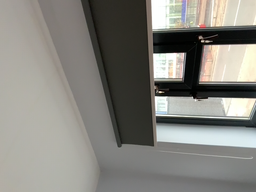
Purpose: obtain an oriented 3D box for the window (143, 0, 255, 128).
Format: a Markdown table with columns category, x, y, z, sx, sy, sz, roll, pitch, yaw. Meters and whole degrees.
| category | x | y | z | sx | sy | sz | roll | pitch | yaw |
| --- | --- | --- | --- | --- | --- | --- | --- | --- | --- |
| window | 0.720 | -0.230 | 1.820 | 0.060 | 1.120 | 1.360 | -76 | -16 | -48 |
